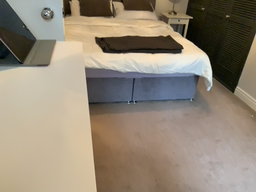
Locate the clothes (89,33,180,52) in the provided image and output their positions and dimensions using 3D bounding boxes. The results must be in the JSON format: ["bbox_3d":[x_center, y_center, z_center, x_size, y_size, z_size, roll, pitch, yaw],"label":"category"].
[{"bbox_3d":[0.040,-0.560,2.200,0.840,0.040,0.520,-3,30,-13],"label":"clothes"}]

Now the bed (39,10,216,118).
[{"bbox_3d":[-0.170,-0.630,2.910,1.590,0.640,2.130,-2,30,-12],"label":"bed"}]
